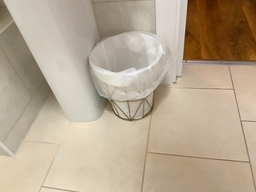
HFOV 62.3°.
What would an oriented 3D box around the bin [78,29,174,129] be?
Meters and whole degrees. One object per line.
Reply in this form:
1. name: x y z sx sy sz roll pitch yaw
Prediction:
1. bin: 0.020 -0.070 0.820 0.280 0.260 0.260 5 48 13
